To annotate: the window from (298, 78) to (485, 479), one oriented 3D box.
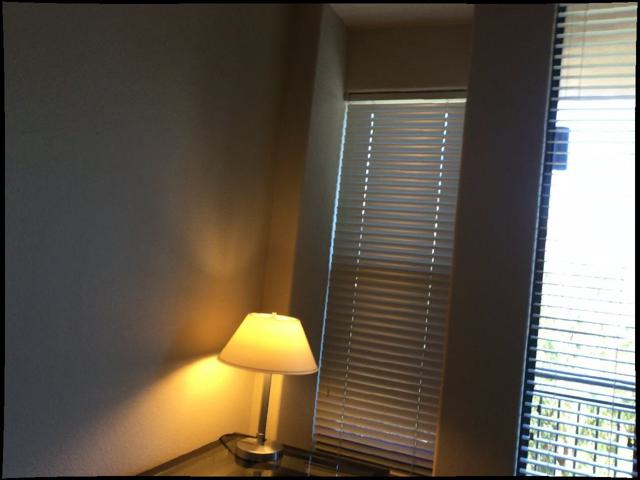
[{"bbox_3d":[0.359,0.211,2.950,0.748,2.025,0.170,5,-2,24],"label":"window"}]
